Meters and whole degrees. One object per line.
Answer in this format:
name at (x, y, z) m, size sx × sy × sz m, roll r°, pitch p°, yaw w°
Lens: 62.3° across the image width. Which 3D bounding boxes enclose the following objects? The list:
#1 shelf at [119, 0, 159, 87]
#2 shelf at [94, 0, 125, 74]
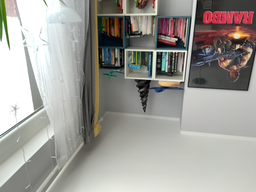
shelf at (0.130, -0.720, 2.530) m, size 0.410 × 1.150 × 0.310 m, roll 4°, pitch -159°, yaw 11°
shelf at (-0.210, -0.810, 2.570) m, size 0.290 × 1.010 × 0.310 m, roll 4°, pitch -159°, yaw 11°
